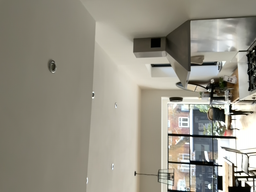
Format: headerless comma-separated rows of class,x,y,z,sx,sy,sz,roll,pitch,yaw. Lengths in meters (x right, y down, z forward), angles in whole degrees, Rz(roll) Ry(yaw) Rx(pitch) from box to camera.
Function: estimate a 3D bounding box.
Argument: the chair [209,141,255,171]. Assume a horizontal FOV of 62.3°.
chair,2.400,1.330,4.800,0.580,1.000,0.550,40,-128,-74
